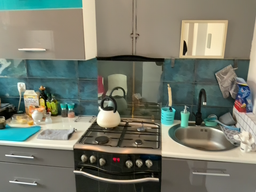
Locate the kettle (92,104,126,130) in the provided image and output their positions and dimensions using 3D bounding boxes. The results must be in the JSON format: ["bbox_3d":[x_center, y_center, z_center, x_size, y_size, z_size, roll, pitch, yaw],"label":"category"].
[{"bbox_3d":[-0.150,0.170,1.800,0.240,0.130,0.250,2,15,7],"label":"kettle"}]

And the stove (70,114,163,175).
[{"bbox_3d":[-0.040,0.340,1.690,0.610,0.160,0.620,3,15,8],"label":"stove"}]
